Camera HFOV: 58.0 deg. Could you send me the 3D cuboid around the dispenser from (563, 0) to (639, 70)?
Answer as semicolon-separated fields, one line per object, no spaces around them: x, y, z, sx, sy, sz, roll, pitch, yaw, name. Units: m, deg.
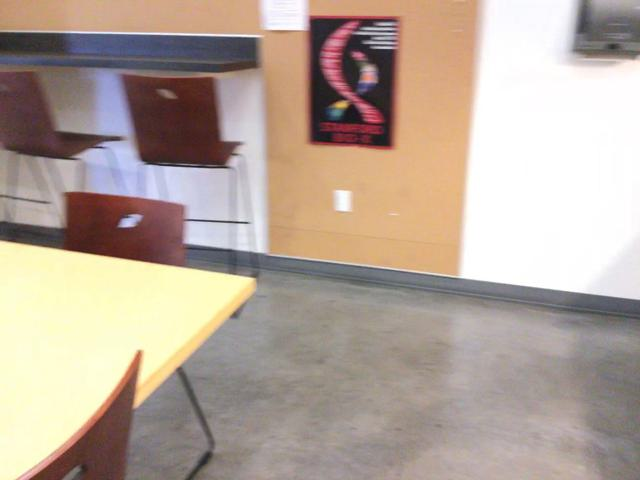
1.170;-0.850;2.260;0.350;0.340;0.260;11;20;19;dispenser
